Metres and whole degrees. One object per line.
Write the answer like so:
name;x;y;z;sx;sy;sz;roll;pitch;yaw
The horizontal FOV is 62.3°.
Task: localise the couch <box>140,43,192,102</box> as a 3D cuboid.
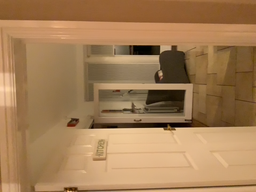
couch;0.760;-0.500;4.600;0.770;0.830;1.010;96;172;-55
